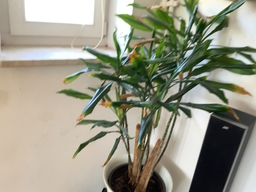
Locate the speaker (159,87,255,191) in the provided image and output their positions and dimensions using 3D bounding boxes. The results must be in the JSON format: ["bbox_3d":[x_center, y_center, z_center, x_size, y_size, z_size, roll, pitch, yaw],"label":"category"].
[{"bbox_3d":[0.280,0.590,0.970,0.200,1.230,0.260,-8,26,-33],"label":"speaker"}]
